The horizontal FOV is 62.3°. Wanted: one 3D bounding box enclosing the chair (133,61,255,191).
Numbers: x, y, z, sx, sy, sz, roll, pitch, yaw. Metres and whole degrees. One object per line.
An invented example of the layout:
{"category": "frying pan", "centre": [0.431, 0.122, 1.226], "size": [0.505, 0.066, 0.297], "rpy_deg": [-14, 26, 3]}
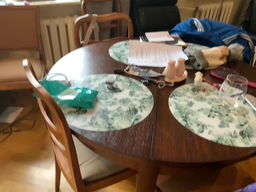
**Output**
{"category": "chair", "centre": [0.350, 0.390, 0.870], "size": [0.440, 0.870, 0.480], "rpy_deg": [-19, 40, -30]}

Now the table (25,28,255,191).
{"category": "table", "centre": [0.140, 0.210, 1.180], "size": [0.990, 0.780, 0.980], "rpy_deg": [-17, 40, -28]}

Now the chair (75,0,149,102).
{"category": "chair", "centre": [-0.170, -0.480, 2.080], "size": [0.440, 0.870, 0.480], "rpy_deg": [-24, 43, -35]}

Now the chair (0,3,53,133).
{"category": "chair", "centre": [-0.880, -0.230, 1.670], "size": [0.400, 0.830, 0.570], "rpy_deg": [-5, 35, -12]}

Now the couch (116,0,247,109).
{"category": "couch", "centre": [0.450, -0.600, 2.240], "size": [0.780, 0.960, 0.900], "rpy_deg": [-17, 40, -28]}
